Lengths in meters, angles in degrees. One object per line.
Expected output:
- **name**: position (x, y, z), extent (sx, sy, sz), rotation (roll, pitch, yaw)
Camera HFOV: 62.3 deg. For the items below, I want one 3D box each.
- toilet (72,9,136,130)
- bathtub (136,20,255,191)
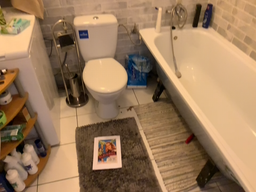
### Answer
- **toilet**: position (-0.210, -0.230, 1.810), extent (0.360, 0.750, 0.650), rotation (-10, 43, -11)
- **bathtub**: position (0.630, 0.050, 1.630), extent (0.680, 0.560, 1.690), rotation (-9, 43, -11)
